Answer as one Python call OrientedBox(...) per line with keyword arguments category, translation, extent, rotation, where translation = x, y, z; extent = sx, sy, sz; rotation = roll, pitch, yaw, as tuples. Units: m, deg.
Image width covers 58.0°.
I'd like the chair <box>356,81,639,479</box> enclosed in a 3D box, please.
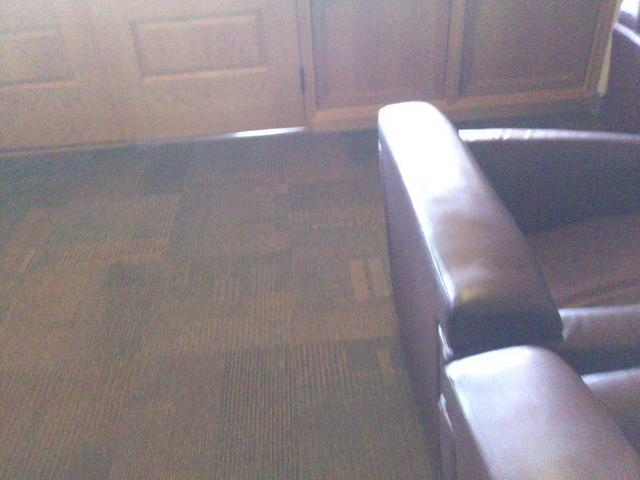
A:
OrientedBox(category="chair", translation=(0.530, 0.140, 1.290), extent=(0.830, 0.760, 0.800), rotation=(1, 30, 0))
